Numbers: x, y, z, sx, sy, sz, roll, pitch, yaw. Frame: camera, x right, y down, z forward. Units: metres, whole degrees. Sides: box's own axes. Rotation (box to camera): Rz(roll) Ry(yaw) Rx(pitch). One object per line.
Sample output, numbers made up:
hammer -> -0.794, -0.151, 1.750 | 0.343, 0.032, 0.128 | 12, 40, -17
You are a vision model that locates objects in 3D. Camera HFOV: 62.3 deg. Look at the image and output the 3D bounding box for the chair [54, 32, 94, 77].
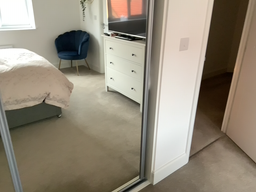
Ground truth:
chair -> -1.190, -0.950, 4.680 | 0.750, 0.830, 0.730 | -6, 24, -17
